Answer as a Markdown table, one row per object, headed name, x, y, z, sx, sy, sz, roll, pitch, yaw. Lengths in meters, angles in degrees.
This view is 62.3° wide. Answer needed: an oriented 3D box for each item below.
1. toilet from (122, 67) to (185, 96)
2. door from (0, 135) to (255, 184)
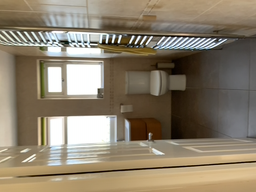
| name | x | y | z | sx | sy | sz | roll | pitch | yaw |
| --- | --- | --- | --- | --- | --- | --- | --- | --- | --- |
| toilet | 0.340 | -0.210 | 3.160 | 0.660 | 0.780 | 0.370 | -158 | 68 | -79 |
| door | 0.050 | 0.350 | 1.340 | 0.780 | 1.990 | 0.090 | 146 | 124 | -78 |
